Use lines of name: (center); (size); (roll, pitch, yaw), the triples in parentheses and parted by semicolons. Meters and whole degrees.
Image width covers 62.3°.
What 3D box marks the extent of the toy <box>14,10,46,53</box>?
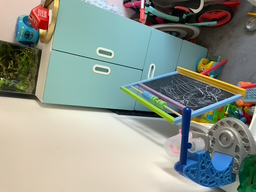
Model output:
toy: (-0.670, -0.430, 1.440); (0.200, 0.140, 0.240); (22, 101, 54)

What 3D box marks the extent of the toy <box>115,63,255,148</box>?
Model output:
toy: (0.300, 0.030, 1.260); (0.520, 0.600, 0.290); (-146, 69, -70)
